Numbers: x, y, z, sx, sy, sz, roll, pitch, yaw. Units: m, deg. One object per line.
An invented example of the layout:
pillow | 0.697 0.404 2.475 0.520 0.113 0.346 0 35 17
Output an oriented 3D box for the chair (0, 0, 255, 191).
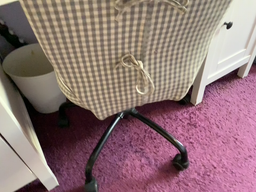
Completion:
chair | -0.010 -0.180 0.650 0.660 0.930 0.590 -13 47 -7
